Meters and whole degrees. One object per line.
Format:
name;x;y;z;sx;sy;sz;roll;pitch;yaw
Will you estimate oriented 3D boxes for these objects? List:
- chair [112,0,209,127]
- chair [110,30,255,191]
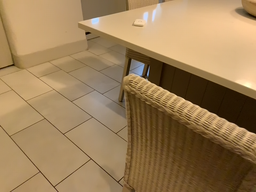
chair;0.210;-0.330;1.760;0.520;0.980;0.430;29;43;30
chair;0.250;0.330;0.840;0.410;0.980;0.490;29;43;30
